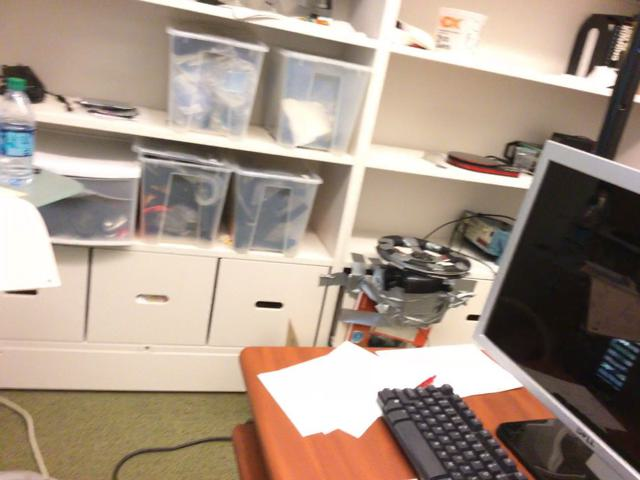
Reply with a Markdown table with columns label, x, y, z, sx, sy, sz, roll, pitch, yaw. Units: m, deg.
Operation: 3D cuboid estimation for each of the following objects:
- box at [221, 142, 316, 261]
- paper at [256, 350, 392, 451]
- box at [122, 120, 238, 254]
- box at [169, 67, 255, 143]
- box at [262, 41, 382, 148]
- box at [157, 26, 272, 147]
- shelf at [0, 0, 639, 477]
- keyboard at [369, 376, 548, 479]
| label | x | y | z | sx | sy | sz | roll | pitch | yaw |
| --- | --- | --- | --- | --- | --- | --- | --- | --- | --- |
| box | -0.190 | -0.140 | 1.970 | 0.240 | 0.310 | 0.350 | 2 | 19 | -16 |
| paper | 0.000 | 0.230 | 0.860 | 0.110 | 0.020 | 0.200 | -5 | 22 | -34 |
| box | -0.460 | -0.180 | 1.880 | 0.320 | 0.340 | 0.350 | 2 | 19 | -16 |
| box | -0.350 | -0.430 | 1.810 | 0.230 | 0.170 | 0.360 | 2 | 19 | -16 |
| box | -0.010 | -0.480 | 1.880 | 0.280 | 0.280 | 0.340 | 2 | 19 | -16 |
| box | -0.340 | -0.480 | 1.780 | 0.300 | 0.300 | 0.340 | 2 | 19 | -16 |
| shelf | 0.760 | -0.550 | 2.000 | 3.950 | 2.490 | 0.710 | 2 | 19 | -15 |
| keyboard | 0.210 | 0.300 | 0.710 | 0.140 | 0.020 | 0.440 | 1 | 19 | -19 |
